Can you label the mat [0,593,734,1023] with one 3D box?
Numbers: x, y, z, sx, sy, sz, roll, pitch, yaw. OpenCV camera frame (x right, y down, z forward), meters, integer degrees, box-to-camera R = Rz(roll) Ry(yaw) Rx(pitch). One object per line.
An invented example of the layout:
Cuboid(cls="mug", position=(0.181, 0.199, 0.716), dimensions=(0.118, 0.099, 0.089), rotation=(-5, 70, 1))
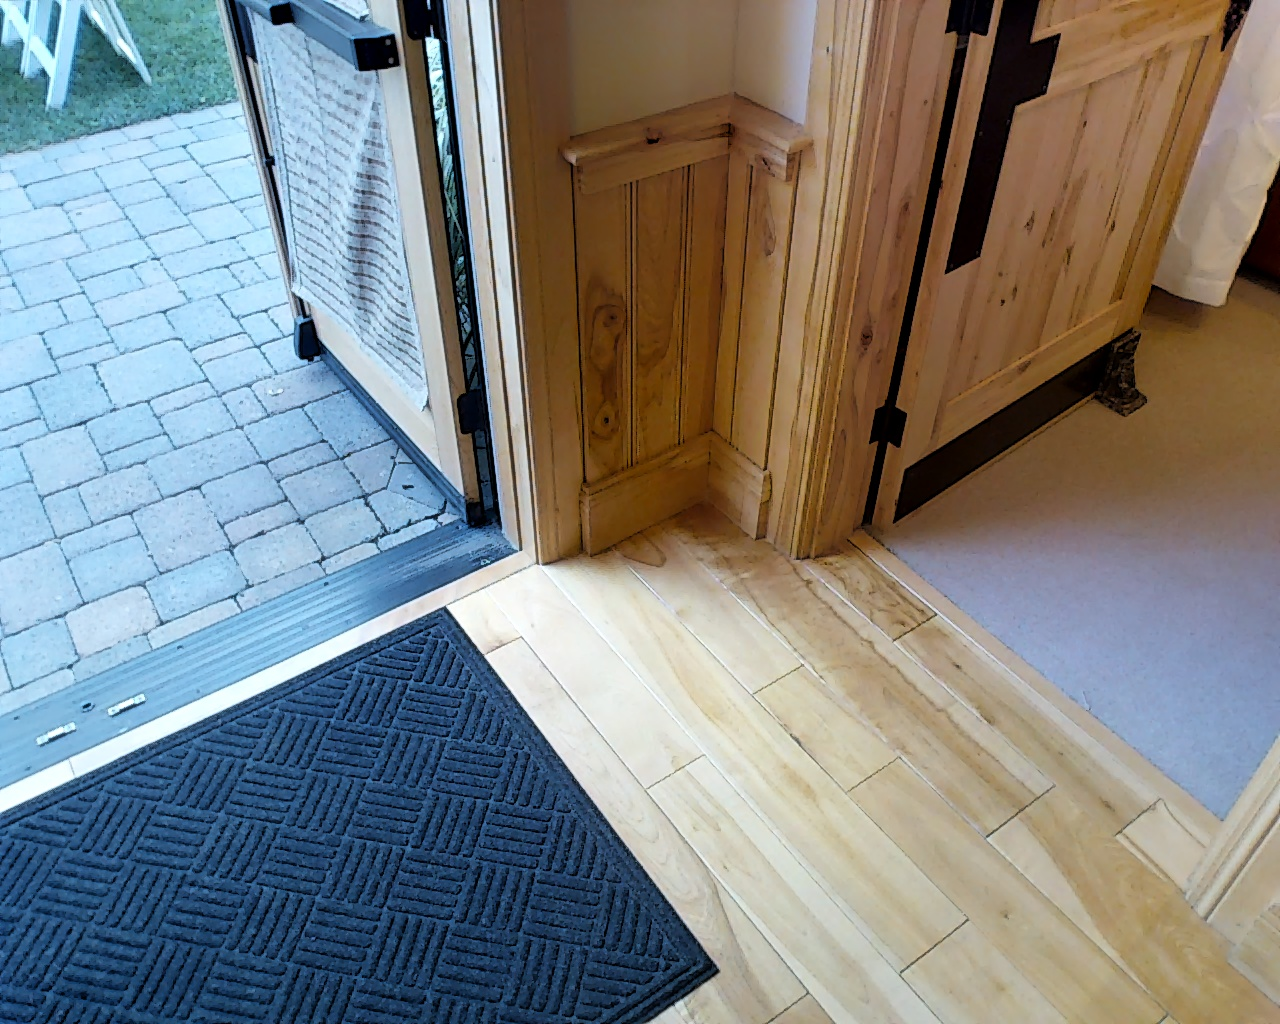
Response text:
Cuboid(cls="mat", position=(-0.650, 0.670, 1.670), dimensions=(1.280, 0.010, 0.940), rotation=(-25, 47, -25))
